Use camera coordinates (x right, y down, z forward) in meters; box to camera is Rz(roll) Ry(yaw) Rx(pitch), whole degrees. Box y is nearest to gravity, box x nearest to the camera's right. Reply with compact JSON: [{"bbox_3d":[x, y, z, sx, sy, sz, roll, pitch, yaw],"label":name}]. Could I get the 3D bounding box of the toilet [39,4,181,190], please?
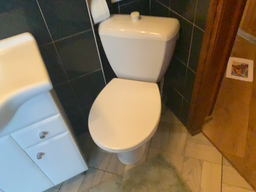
[{"bbox_3d":[0.000,0.010,1.230,0.400,0.760,0.680,12,50,17],"label":"toilet"}]
